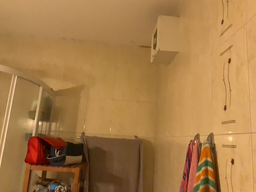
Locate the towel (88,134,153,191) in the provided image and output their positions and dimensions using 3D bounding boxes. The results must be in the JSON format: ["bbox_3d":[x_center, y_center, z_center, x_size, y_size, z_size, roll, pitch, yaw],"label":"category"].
[{"bbox_3d":[-0.070,0.740,1.880,0.520,0.760,0.150,4,-11,0],"label":"towel"}]
